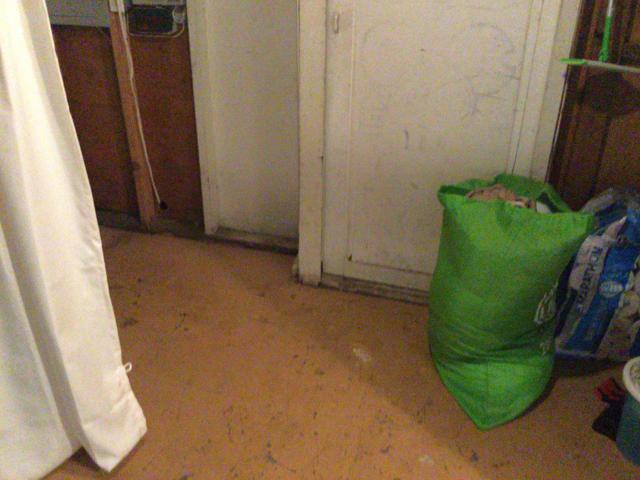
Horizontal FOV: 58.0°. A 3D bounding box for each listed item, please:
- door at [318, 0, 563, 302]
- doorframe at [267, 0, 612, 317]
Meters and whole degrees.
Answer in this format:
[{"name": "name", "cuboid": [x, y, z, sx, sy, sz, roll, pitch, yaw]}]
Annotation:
[{"name": "door", "cuboid": [0.390, -0.660, 2.010, 0.770, 1.970, 0.170, 5, 32, 10]}, {"name": "doorframe", "cuboid": [0.370, -0.670, 1.990, 1.070, 2.090, 0.190, 5, 32, 10]}]
